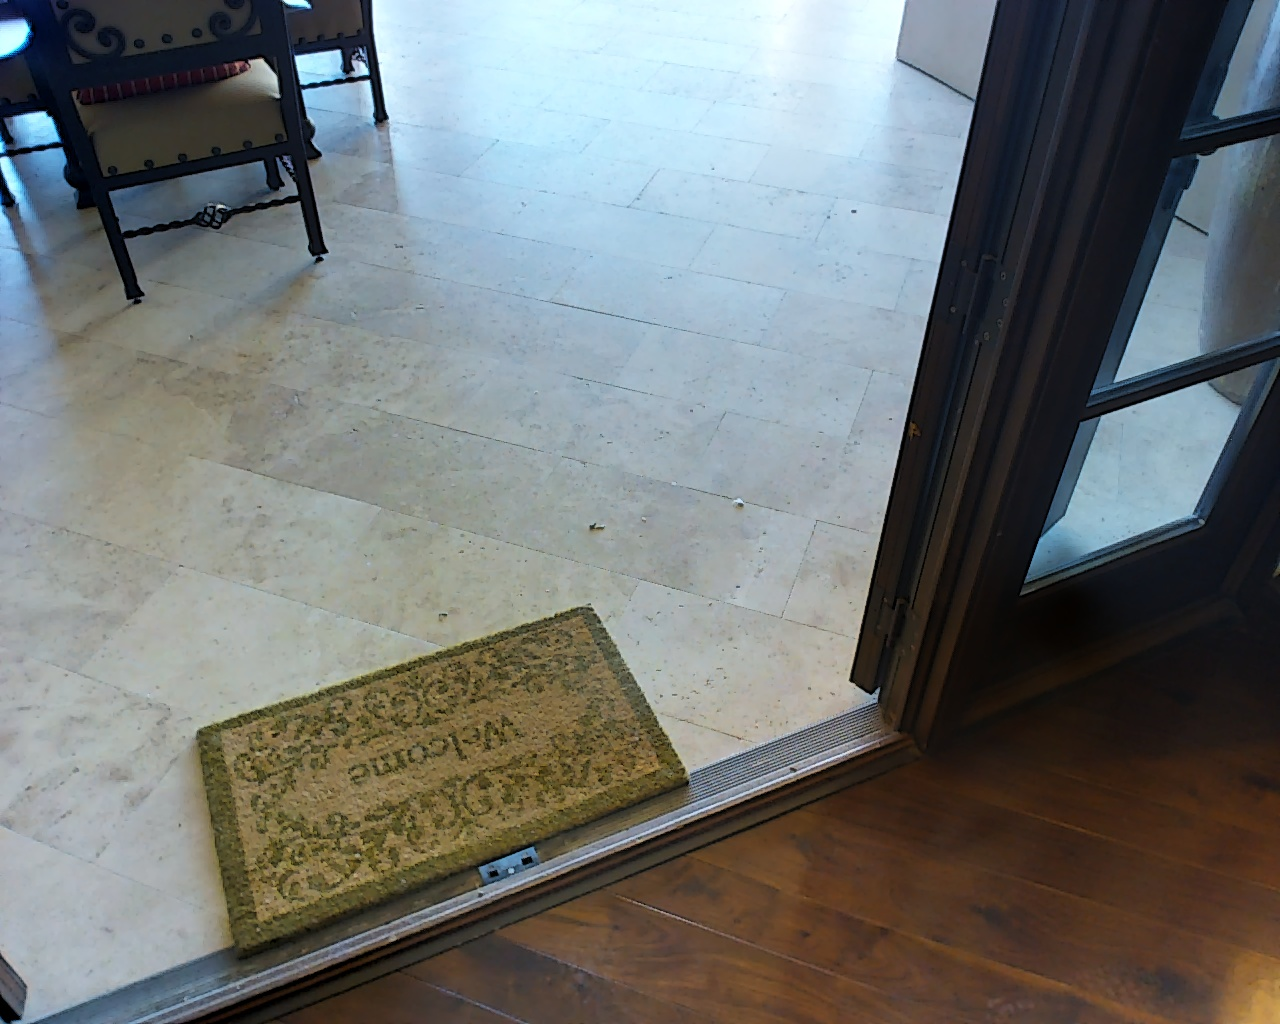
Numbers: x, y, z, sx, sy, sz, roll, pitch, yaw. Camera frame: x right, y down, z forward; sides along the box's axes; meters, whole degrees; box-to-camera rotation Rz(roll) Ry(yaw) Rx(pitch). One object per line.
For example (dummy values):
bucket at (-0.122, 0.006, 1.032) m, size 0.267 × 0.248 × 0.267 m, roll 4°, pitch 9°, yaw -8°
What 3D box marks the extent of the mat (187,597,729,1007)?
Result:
mat at (-0.330, 0.450, 1.870) m, size 0.820 × 0.020 × 0.520 m, roll -17°, pitch 44°, yaw -18°
